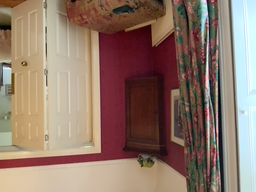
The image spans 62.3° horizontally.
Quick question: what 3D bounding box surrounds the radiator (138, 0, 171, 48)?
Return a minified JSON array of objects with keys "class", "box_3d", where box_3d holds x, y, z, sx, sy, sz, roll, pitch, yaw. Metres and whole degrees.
[{"class":"radiator","box_3d":[0.310,-1.000,2.730,0.150,0.560,0.860,-1,179,-10]}]
